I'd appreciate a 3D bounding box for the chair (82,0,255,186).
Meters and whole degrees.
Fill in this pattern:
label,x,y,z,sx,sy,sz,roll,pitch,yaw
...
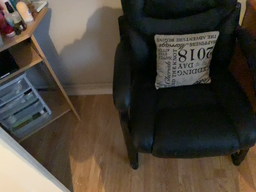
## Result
label,x,y,z,sx,sy,sz,roll,pitch,yaw
chair,0.260,-0.070,1.040,0.610,0.900,0.710,-3,50,7

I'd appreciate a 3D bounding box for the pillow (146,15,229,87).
label,x,y,z,sx,sy,sz,roll,pitch,yaw
pillow,0.270,-0.190,0.990,0.300,0.220,0.070,-28,41,31
